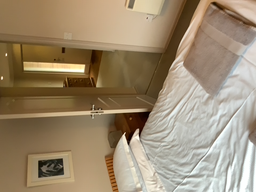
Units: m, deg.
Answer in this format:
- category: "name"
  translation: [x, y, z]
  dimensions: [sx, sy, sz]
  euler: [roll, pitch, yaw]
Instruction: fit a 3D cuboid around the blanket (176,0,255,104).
- category: "blanket"
  translation: [0.510, -0.270, 1.280]
  dimensions: [0.080, 0.490, 0.410]
  euler: [0, 42, -22]
